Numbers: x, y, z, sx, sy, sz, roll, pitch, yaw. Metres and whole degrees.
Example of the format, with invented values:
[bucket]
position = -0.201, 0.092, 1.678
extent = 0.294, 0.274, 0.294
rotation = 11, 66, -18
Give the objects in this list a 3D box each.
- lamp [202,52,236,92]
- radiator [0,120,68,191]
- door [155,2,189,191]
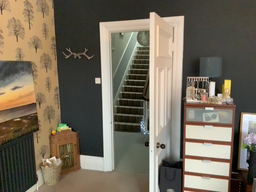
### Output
[lamp]
position = 1.140, -0.310, 2.700
extent = 0.350, 0.470, 0.270
rotation = 3, 9, 19
[radiator]
position = -1.200, 0.800, 2.710
extent = 0.260, 0.740, 1.010
rotation = 3, 9, 19
[door]
position = 0.590, 0.040, 2.740
extent = 0.150, 2.100, 1.040
rotation = 4, 9, 24
